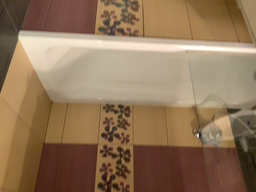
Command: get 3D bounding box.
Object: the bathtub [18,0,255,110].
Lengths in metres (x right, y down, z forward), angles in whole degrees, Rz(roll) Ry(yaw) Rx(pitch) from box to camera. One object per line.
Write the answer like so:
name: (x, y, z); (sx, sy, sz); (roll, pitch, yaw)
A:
bathtub: (0.240, -0.330, 1.490); (1.580, 0.560, 0.690); (2, 151, -4)
